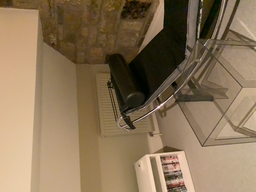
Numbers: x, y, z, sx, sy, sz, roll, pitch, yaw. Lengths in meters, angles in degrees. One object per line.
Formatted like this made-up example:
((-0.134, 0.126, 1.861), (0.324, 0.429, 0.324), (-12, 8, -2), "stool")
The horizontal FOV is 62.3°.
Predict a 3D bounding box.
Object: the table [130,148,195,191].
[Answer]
((0.360, 1.150, 1.880), (0.470, 0.400, 1.240), (119, 146, -59), "table")
